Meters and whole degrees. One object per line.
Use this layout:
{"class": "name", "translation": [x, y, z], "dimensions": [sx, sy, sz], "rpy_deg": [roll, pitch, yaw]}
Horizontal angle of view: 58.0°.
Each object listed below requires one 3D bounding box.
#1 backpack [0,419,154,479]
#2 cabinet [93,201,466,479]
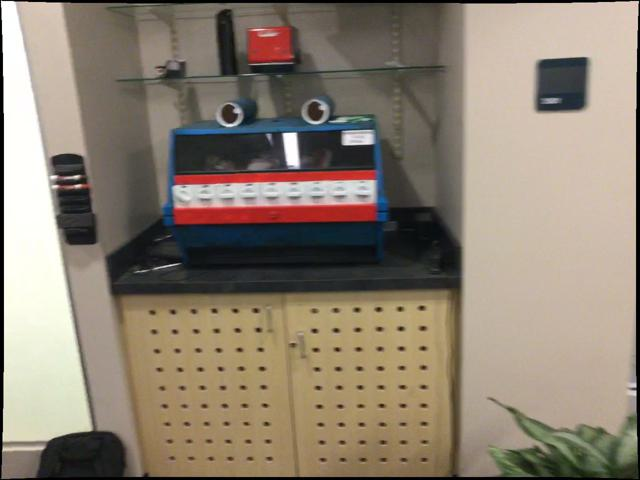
{"class": "backpack", "translation": [-0.878, 0.882, 2.040], "dimensions": [0.429, 0.321, 0.360], "rpy_deg": [-2, 22, 6]}
{"class": "cabinet", "translation": [-0.090, 0.401, 2.290], "dimensions": [1.187, 0.892, 0.670], "rpy_deg": [-2, 22, 6]}
